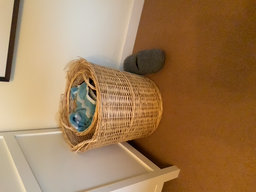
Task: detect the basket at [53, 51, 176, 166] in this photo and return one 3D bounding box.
[{"bbox_3d":[-0.090,0.040,1.190,0.420,0.450,0.450,26,108,46],"label":"basket"}]
